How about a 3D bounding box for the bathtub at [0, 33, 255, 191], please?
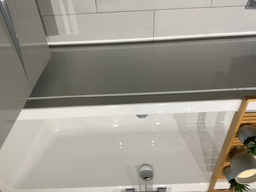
[{"bbox_3d":[0.080,0.120,1.220,1.660,0.560,0.690,-3,129,1],"label":"bathtub"}]
